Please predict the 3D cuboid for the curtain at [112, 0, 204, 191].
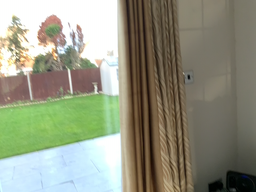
[{"bbox_3d":[0.230,0.190,1.420,0.460,2.210,0.220,-9,9,-23],"label":"curtain"}]
